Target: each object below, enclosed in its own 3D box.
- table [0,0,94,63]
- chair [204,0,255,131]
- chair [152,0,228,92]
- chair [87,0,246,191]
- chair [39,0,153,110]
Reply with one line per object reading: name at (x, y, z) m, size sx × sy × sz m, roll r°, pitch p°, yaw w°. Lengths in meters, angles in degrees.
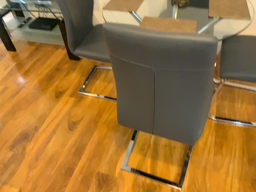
table at (-0.990, -0.770, 2.280) m, size 1.090 × 0.500 × 0.440 m, roll 12°, pitch 48°, yaw 15°
chair at (0.880, -0.290, 1.320) m, size 0.540 × 1.020 × 0.490 m, roll 11°, pitch 48°, yaw 14°
chair at (0.480, -0.620, 1.650) m, size 0.430 × 1.040 × 0.540 m, roll 12°, pitch 48°, yaw 15°
chair at (0.200, 0.000, 1.100) m, size 0.430 × 1.010 × 0.540 m, roll 13°, pitch 49°, yaw 16°
chair at (-0.160, -0.450, 1.550) m, size 0.580 × 1.020 × 0.450 m, roll 11°, pitch 48°, yaw 14°
